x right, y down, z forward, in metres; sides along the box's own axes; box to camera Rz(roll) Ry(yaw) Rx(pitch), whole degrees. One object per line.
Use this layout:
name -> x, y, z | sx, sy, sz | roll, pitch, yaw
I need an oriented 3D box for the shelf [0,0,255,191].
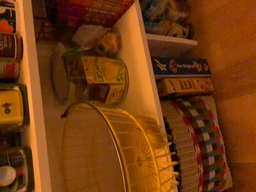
shelf -> -0.480, -0.170, 0.420 | 0.290, 1.800, 1.950 | -24, 73, 54
